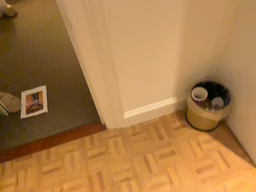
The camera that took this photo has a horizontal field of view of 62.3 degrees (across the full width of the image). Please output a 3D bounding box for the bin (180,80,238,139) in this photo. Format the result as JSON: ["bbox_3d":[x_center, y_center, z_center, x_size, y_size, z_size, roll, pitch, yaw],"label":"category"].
[{"bbox_3d":[0.510,0.090,1.390,0.230,0.250,0.230,-15,52,-6],"label":"bin"}]
